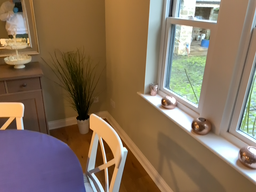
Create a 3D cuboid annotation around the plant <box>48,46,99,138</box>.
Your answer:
[{"bbox_3d":[-0.610,-0.040,2.480,0.480,1.030,0.170,-10,26,-25],"label":"plant"}]
